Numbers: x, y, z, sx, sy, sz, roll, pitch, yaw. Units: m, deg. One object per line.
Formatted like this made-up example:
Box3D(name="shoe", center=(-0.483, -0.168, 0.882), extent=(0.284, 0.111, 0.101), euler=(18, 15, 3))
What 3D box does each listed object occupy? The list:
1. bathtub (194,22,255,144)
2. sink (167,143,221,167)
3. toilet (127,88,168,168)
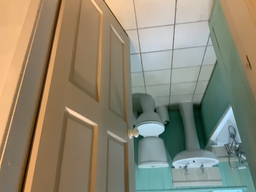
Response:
Box3D(name="bathtub", center=(1.210, 0.020, 2.250), extent=(0.670, 0.540, 1.620), euler=(-4, 152, 6))
Box3D(name="sink", center=(0.770, 0.730, 2.590), extent=(0.560, 0.150, 0.450), euler=(-6, 151, 5))
Box3D(name="toilet", center=(0.250, 0.430, 2.710), extent=(0.400, 0.810, 0.660), euler=(-6, 151, 5))
